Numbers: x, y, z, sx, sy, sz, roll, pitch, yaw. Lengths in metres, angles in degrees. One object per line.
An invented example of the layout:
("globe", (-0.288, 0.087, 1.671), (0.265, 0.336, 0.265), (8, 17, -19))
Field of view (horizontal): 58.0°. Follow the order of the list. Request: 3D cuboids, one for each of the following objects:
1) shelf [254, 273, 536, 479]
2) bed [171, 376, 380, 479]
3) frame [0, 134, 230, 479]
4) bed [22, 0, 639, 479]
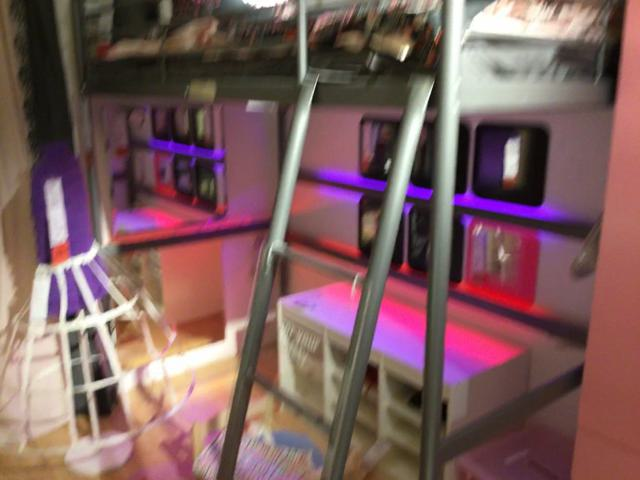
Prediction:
("shelf", (0.240, 0.580, 2.380), (0.470, 0.600, 1.100), (-11, 16, -38))
("bed", (-0.170, 0.810, 2.060), (0.460, 0.330, 0.620), (-11, 16, -38))
("frame", (-0.830, 0.150, 2.140), (0.710, 1.030, 0.610), (-11, 16, -38))
("bed", (-0.030, -0.040, 1.870), (1.150, 1.880, 1.700), (-11, 16, -38))
